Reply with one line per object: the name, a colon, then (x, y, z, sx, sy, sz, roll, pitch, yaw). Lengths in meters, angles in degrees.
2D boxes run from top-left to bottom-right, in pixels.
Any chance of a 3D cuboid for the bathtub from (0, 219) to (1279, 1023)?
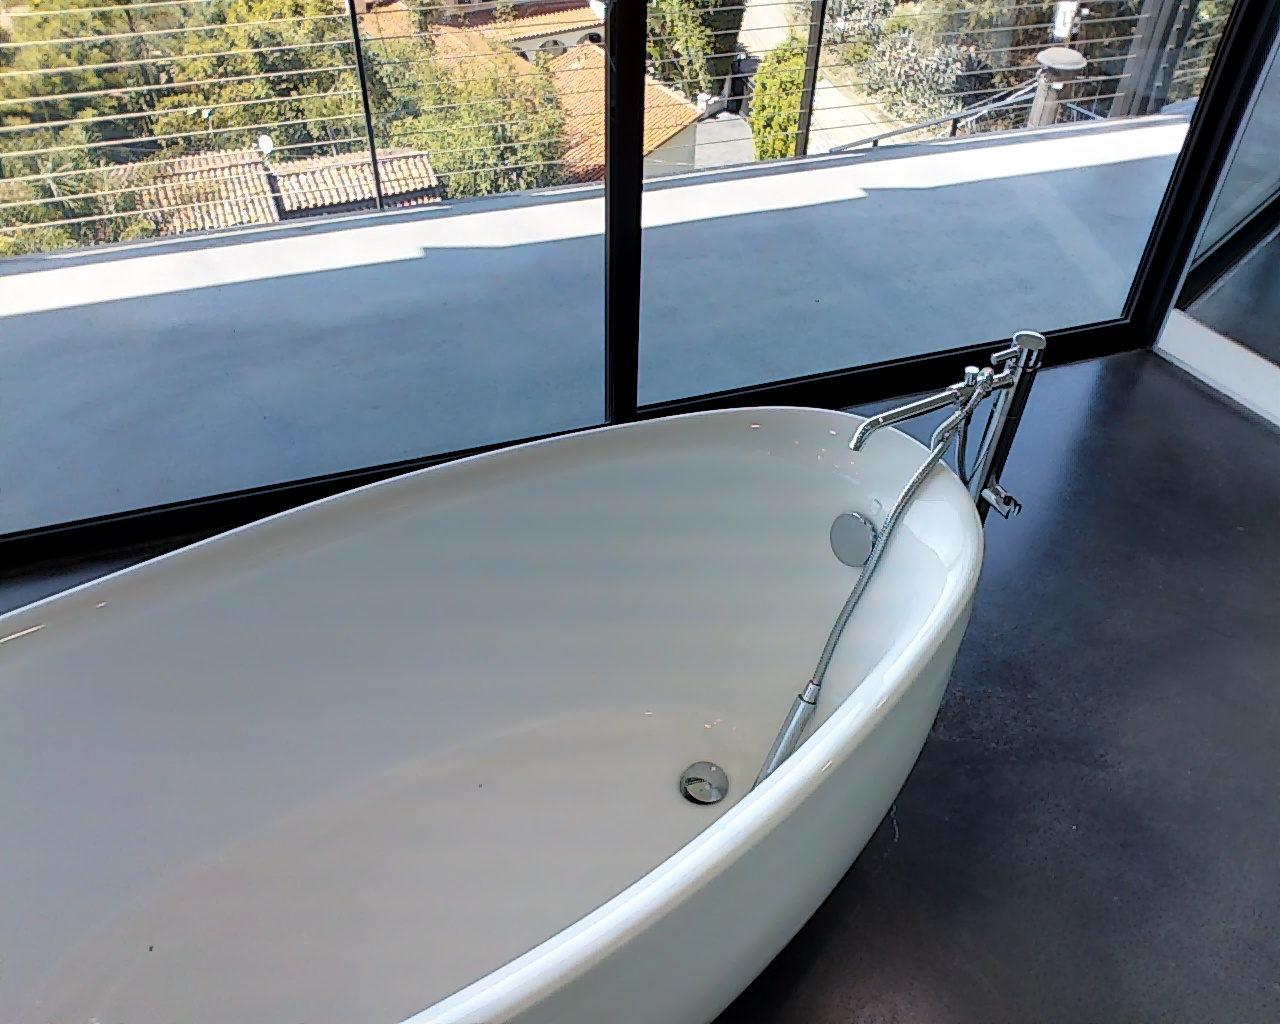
bathtub: (-0.300, 0.380, 1.380, 2.060, 0.760, 0.860, -21, 46, -22)
